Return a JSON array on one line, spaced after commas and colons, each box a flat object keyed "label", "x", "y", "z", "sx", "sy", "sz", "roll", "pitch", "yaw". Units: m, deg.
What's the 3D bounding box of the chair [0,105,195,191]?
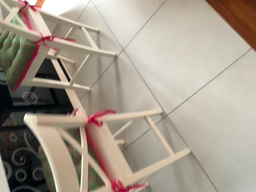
[{"label": "chair", "x": -0.120, "y": 0.360, "z": 1.120, "sx": 0.490, "sy": 0.910, "sz": 0.400, "roll": -46, "pitch": 63, "yaw": 27}]
